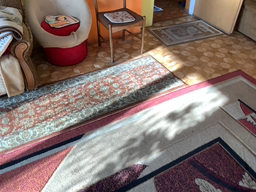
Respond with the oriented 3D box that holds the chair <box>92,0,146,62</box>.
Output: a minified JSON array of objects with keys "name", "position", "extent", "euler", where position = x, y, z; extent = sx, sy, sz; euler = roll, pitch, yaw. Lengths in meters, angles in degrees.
[{"name":"chair","position":[-0.120,-0.940,2.490],"extent":[0.410,0.830,0.560],"euler":[-17,45,-20]}]

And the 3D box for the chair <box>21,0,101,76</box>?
[{"name":"chair","position":[-0.740,-0.760,2.380],"extent":[0.650,0.700,0.640],"euler":[-17,44,-19]}]
